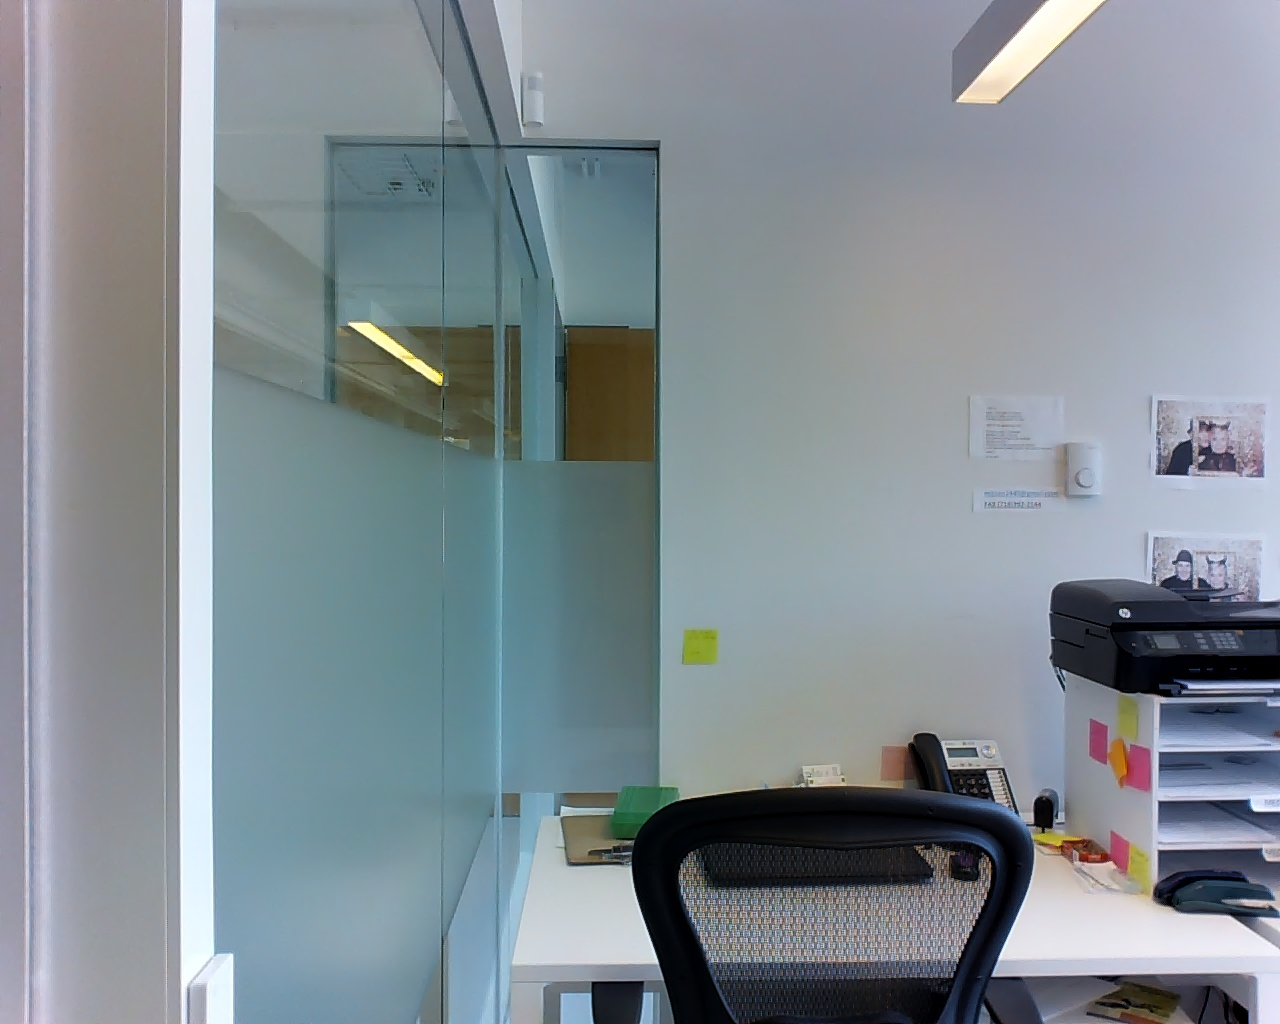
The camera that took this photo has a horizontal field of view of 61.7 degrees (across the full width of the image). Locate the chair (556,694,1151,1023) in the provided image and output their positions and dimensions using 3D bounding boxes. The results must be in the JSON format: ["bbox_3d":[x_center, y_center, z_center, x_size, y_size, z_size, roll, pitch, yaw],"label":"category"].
[{"bbox_3d":[0.230,0.890,1.600,0.690,1.100,0.730,0,1,-3],"label":"chair"}]
